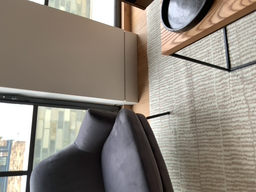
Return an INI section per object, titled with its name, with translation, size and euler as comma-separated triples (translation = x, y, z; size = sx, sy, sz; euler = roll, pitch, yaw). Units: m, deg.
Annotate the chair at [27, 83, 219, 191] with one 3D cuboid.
[chair]
translation = -0.110, 0.490, 1.290
size = 0.750, 0.820, 0.710
euler = -55, 40, 39
